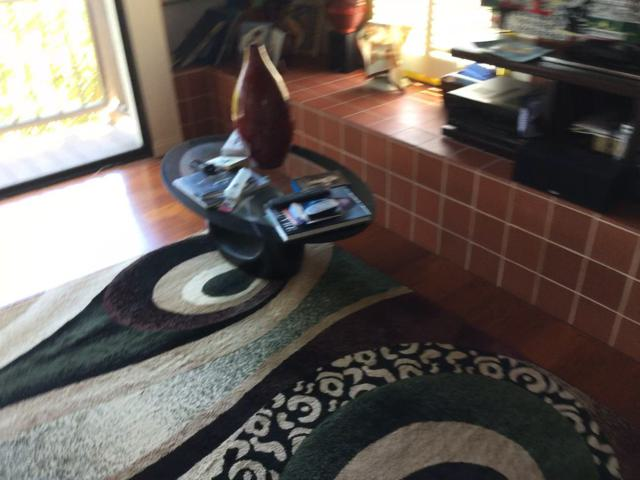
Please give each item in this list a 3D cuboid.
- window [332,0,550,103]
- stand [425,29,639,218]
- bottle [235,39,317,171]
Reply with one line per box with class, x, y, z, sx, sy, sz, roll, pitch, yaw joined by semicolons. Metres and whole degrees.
window;0.540;-1.520;2.690;0.220;1.540;1.160;-19;31;-37
stand;1.070;-0.450;2.100;0.540;0.490;1.270;-19;31;-37
bottle;-0.170;-0.540;2.290;0.240;0.460;0.200;-19;31;-37
